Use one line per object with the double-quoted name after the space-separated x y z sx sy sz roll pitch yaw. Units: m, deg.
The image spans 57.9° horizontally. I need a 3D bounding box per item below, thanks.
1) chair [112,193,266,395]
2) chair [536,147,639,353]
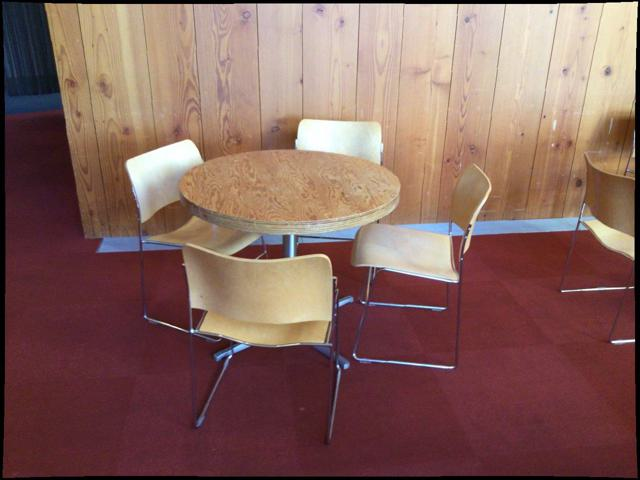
-0.589 0.230 2.770 0.420 0.741 0.530 10 25 23 "chair"
1.498 0.020 2.710 0.649 0.791 0.510 -4 23 -8 "chair"
